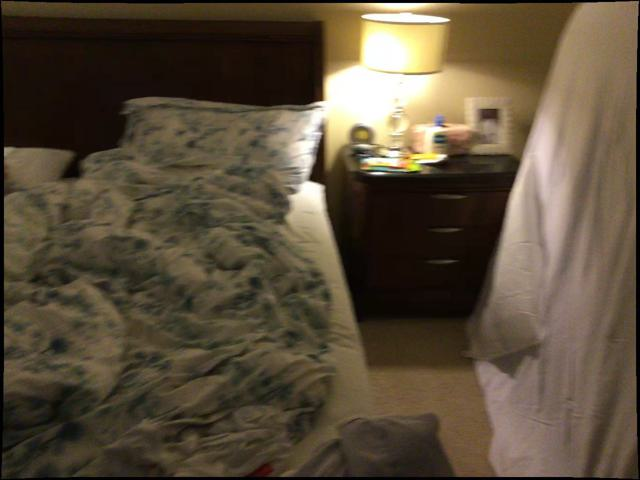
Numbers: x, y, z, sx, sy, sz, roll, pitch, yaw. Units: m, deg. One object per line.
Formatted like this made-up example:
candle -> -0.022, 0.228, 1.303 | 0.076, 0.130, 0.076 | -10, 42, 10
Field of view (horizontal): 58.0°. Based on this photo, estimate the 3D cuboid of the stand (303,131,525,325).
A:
stand -> 0.389, -0.080, 2.800 | 0.898, 0.731, 0.570 | -2, 26, -4

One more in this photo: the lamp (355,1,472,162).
lamp -> 0.389, -0.722, 2.600 | 0.399, 0.631, 0.400 | -2, 26, -4
